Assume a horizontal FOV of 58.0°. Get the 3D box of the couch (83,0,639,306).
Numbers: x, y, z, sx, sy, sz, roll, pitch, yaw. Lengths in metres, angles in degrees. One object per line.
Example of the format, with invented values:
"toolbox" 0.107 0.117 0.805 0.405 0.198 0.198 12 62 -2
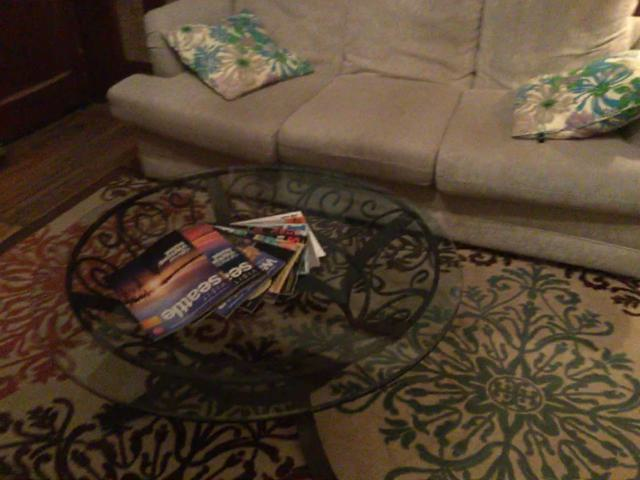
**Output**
"couch" 0.310 -0.610 2.330 2.160 0.890 0.990 13 33 19
